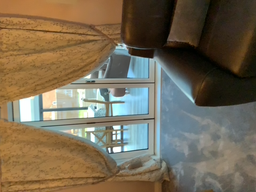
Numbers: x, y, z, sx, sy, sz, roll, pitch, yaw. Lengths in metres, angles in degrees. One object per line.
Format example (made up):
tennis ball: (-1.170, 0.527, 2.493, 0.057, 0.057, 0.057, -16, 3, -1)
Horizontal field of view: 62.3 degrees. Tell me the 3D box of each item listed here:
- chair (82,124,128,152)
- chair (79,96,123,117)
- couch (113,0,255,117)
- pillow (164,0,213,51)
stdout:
chair: (-0.530, 0.920, 4.740, 0.490, 0.930, 0.490, 163, 105, -70)
chair: (-0.640, 0.240, 4.990, 0.480, 0.950, 0.430, 173, 95, -71)
couch: (0.510, -0.590, 1.520, 0.980, 0.930, 1.060, -122, 36, -56)
pillow: (0.450, -0.620, 1.560, 0.220, 0.170, 0.520, -118, 32, -53)
